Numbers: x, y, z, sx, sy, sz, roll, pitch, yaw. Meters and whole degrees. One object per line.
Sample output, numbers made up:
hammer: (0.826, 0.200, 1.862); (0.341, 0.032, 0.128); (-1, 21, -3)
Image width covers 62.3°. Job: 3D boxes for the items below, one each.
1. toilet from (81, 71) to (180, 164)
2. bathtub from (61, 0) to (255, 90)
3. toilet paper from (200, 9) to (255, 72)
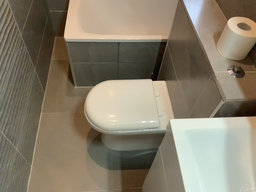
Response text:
toilet: (-0.010, 0.150, 1.400); (0.510, 0.470, 0.420); (-1, 53, -5)
bathtub: (0.360, -0.530, 1.890); (1.690, 0.560, 0.710); (-2, 53, -6)
toilet paper: (0.380, -0.210, 0.820); (0.110, 0.170, 0.160); (0, 53, -5)
